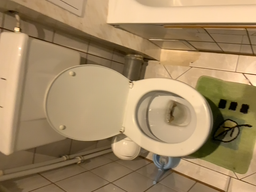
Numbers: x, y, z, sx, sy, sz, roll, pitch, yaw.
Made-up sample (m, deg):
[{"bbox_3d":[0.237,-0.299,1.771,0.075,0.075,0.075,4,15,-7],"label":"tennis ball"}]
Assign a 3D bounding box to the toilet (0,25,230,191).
[{"bbox_3d":[0.000,0.070,1.000,0.690,0.910,0.490,15,96,31],"label":"toilet"}]
